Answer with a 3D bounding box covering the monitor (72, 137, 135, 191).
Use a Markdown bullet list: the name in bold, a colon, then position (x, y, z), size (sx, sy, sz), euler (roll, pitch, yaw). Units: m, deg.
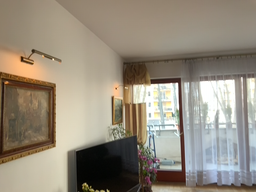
- **monitor**: position (-0.230, 0.940, 2.600), size (0.080, 0.730, 1.150), euler (-3, -4, 31)
